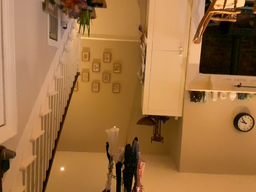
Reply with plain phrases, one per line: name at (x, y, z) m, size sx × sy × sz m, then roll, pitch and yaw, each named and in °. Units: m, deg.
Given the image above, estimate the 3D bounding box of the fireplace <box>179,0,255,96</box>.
fireplace at (2.320, -1.050, 4.260) m, size 2.160 × 1.950 × 1.200 m, roll 3°, pitch -173°, yaw 0°

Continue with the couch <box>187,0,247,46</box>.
couch at (1.440, -1.400, 3.360) m, size 0.760 × 1.120 × 0.620 m, roll 7°, pitch -171°, yaw 26°
